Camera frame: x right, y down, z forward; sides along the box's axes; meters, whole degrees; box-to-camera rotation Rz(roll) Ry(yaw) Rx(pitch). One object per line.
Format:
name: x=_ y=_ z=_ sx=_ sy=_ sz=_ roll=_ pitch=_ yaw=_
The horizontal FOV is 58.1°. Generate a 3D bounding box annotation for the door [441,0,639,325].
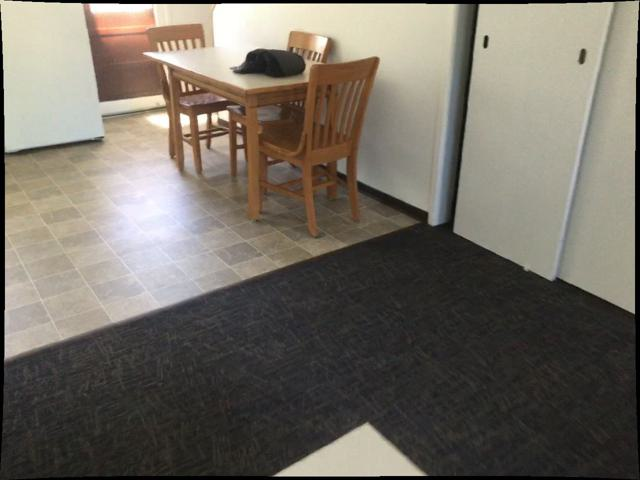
door: x=1.028 y=-0.521 z=2.340 sx=0.150 sy=1.482 sz=1.100 roll=-19 pitch=33 yaw=-33

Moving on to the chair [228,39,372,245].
chair: x=-0.100 y=-0.531 z=3.010 sx=0.520 sy=0.891 sz=0.480 roll=-19 pitch=33 yaw=-33

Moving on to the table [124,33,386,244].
table: x=-0.429 y=-0.711 z=3.470 sx=0.869 sy=0.801 sz=1.409 roll=-19 pitch=33 yaw=-33
